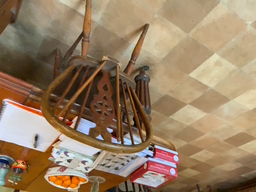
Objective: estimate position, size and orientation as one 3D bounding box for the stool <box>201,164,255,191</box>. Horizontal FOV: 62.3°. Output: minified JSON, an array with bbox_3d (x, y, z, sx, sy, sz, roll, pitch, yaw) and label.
[{"bbox_3d":[1.640,1.300,3.130,0.390,0.240,1.000,27,134,-26],"label":"stool"}]
